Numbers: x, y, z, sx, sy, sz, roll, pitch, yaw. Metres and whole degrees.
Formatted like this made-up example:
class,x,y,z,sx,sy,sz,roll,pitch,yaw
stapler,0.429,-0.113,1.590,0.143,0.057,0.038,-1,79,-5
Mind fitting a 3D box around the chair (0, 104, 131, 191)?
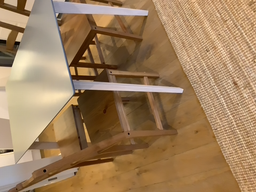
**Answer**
class,x,y,z,sx,sy,sz,roll,pitch,yaw
chair,-0.490,0.380,1.660,0.400,0.880,0.480,-31,68,46
